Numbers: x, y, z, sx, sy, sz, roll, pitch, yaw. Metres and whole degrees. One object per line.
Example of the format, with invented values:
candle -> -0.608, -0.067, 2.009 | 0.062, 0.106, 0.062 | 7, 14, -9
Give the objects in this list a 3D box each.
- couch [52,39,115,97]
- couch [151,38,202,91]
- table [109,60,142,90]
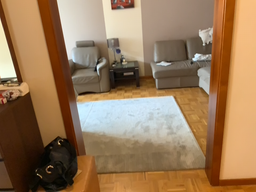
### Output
couch -> -0.870, -0.630, 4.530 | 0.990, 0.960, 0.960 | -3, 22, 4
couch -> 0.960, -0.690, 4.440 | 0.870, 0.830, 0.920 | -3, 22, 4
table -> -0.040, -0.480, 4.710 | 0.650, 0.450, 0.640 | -4, 22, 3
